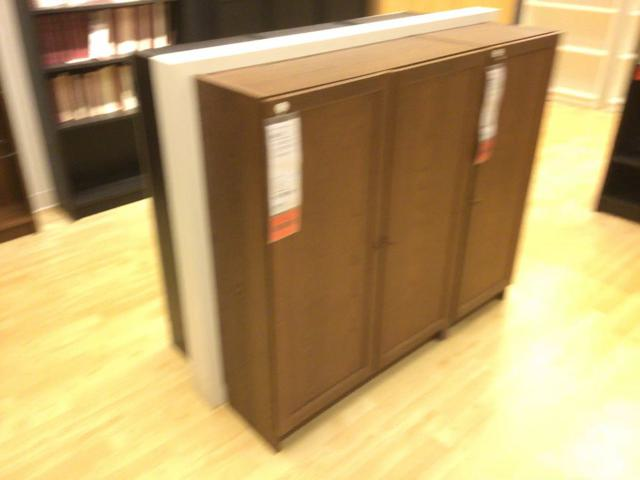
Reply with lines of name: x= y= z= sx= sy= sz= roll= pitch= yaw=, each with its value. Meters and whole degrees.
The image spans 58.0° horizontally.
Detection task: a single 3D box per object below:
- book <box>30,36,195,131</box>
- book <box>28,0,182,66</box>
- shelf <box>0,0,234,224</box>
book: x=-1.020 y=-0.810 z=2.940 sx=0.750 sy=0.310 sz=0.190 roll=-22 pitch=49 yaw=-34
book: x=-1.020 y=-1.050 z=2.830 sx=0.700 sy=0.260 sz=0.110 roll=-22 pitch=49 yaw=-34
shelf: x=-1.070 y=-1.200 z=2.860 sx=0.890 sy=1.990 sz=0.590 roll=-22 pitch=31 yaw=-34
